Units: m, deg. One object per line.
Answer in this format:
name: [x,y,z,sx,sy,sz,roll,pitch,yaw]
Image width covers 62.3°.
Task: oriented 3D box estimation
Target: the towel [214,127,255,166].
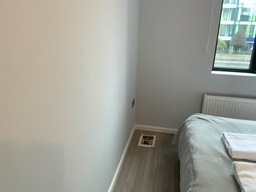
towel: [0.890,0.380,1.650,0.310,0.080,0.410,4,19,7]
